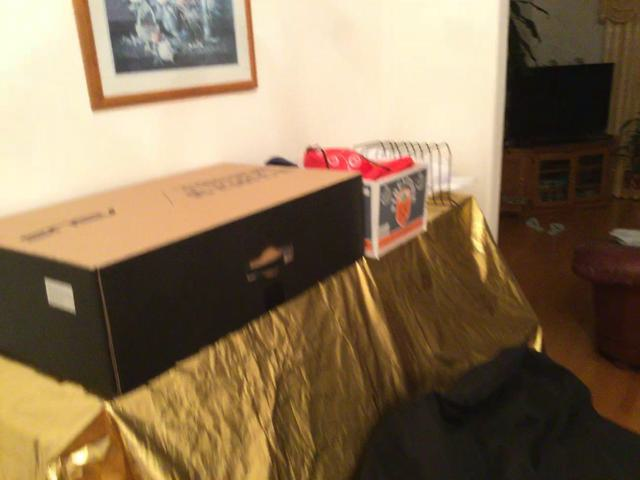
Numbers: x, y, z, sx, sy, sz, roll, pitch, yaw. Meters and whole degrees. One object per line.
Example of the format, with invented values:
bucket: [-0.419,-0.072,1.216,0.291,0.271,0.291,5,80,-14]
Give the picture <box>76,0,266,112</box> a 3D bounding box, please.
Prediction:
picture: [-0.350,-0.620,1.410,0.050,0.550,0.530,8,20,35]
